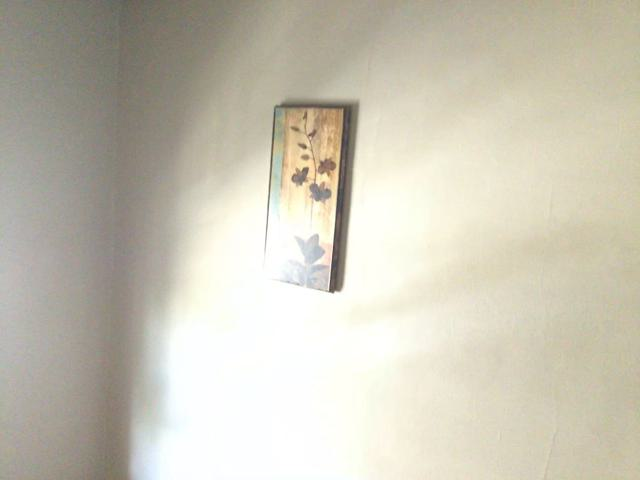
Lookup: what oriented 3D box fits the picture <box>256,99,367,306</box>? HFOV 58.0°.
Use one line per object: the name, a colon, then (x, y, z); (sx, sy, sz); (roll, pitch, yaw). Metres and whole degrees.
picture: (-0.050, -0.150, 2.520); (0.530, 0.830, 0.080); (0, 2, 38)
